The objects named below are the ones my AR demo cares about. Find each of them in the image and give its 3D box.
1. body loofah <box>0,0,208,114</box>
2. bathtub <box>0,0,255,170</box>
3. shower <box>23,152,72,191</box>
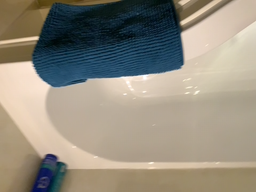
[{"bbox_3d":[-0.050,-0.180,0.800,0.560,0.370,0.320,-1,133,7],"label":"body loofah"},{"bbox_3d":[0.330,-0.180,0.950,1.660,0.600,0.910,-3,133,9],"label":"bathtub"},{"bbox_3d":[-0.380,0.420,1.010,0.110,0.250,0.160,-5,132,10],"label":"shower"}]
